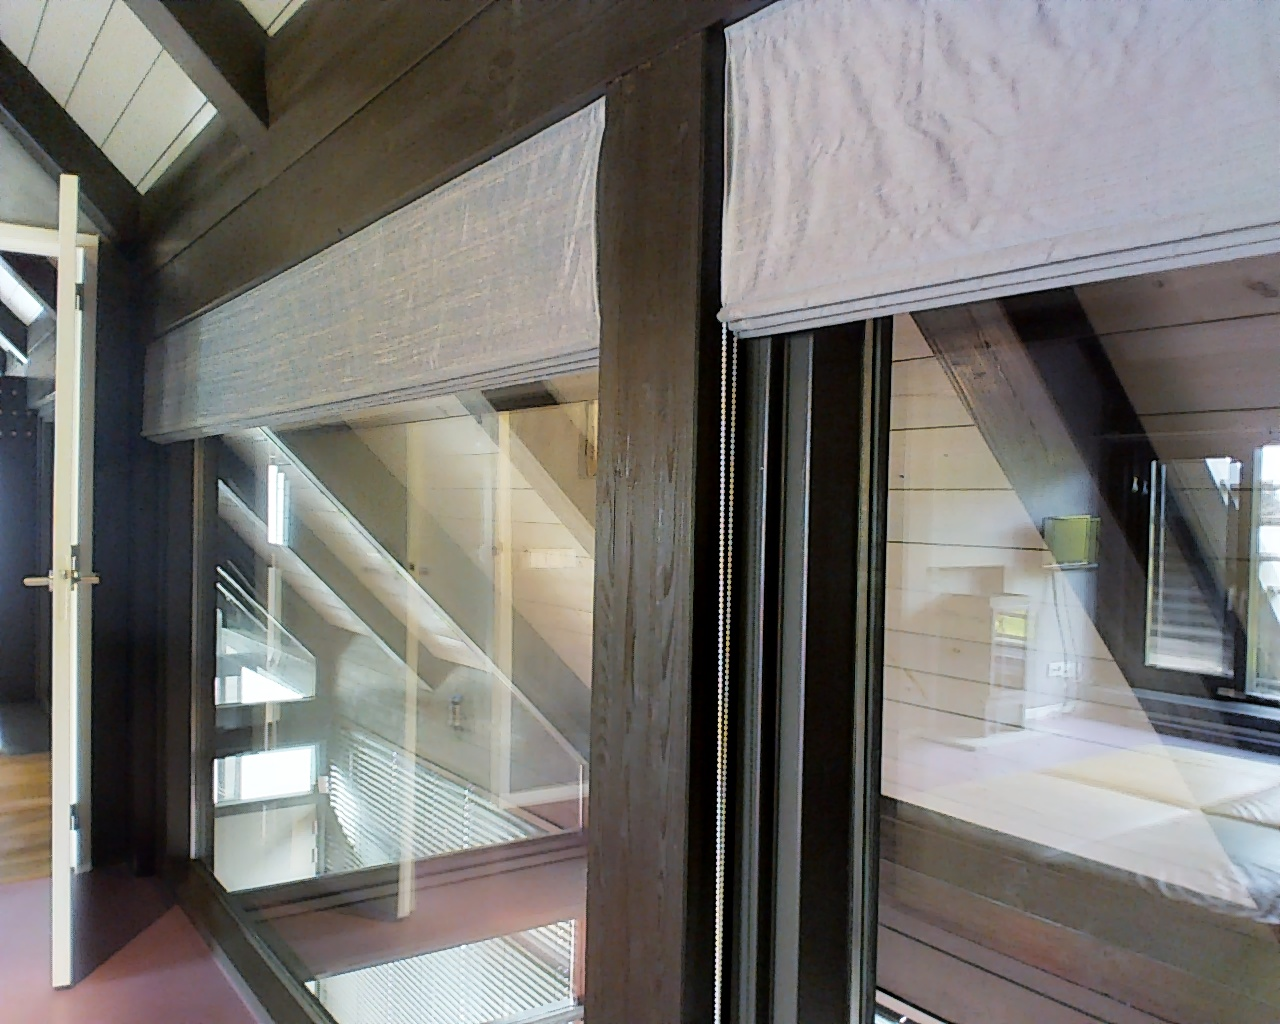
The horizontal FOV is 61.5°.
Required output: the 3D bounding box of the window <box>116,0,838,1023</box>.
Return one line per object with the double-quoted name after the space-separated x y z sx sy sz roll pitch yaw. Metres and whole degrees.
-0.740 0.320 2.440 0.360 1.860 2.900 1 1 -34 "window"
